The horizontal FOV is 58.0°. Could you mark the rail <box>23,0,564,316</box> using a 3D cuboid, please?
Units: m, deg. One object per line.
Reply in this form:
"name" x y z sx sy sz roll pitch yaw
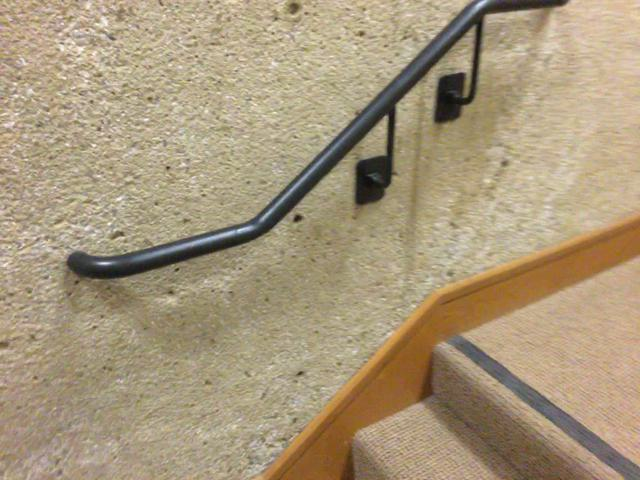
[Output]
"rail" 0.040 -0.210 1.080 1.000 0.490 0.080 -13 31 -29
